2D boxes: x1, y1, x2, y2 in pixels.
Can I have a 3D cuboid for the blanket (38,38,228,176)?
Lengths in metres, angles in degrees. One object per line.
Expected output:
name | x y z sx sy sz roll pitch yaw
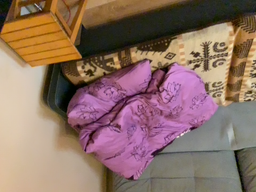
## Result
blanket | 0.090 0.180 1.410 0.900 0.520 0.780 -9 150 16

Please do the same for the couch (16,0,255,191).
couch | 0.670 0.090 1.390 2.120 1.160 1.100 -8 150 14

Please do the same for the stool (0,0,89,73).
stool | -0.450 -0.440 1.150 0.330 0.480 0.320 -8 150 14
